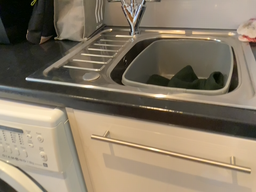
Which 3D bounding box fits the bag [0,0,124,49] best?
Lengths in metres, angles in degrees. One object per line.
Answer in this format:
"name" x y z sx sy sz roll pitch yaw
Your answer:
"bag" -0.330 -0.420 0.830 0.550 0.350 0.300 6 34 14
